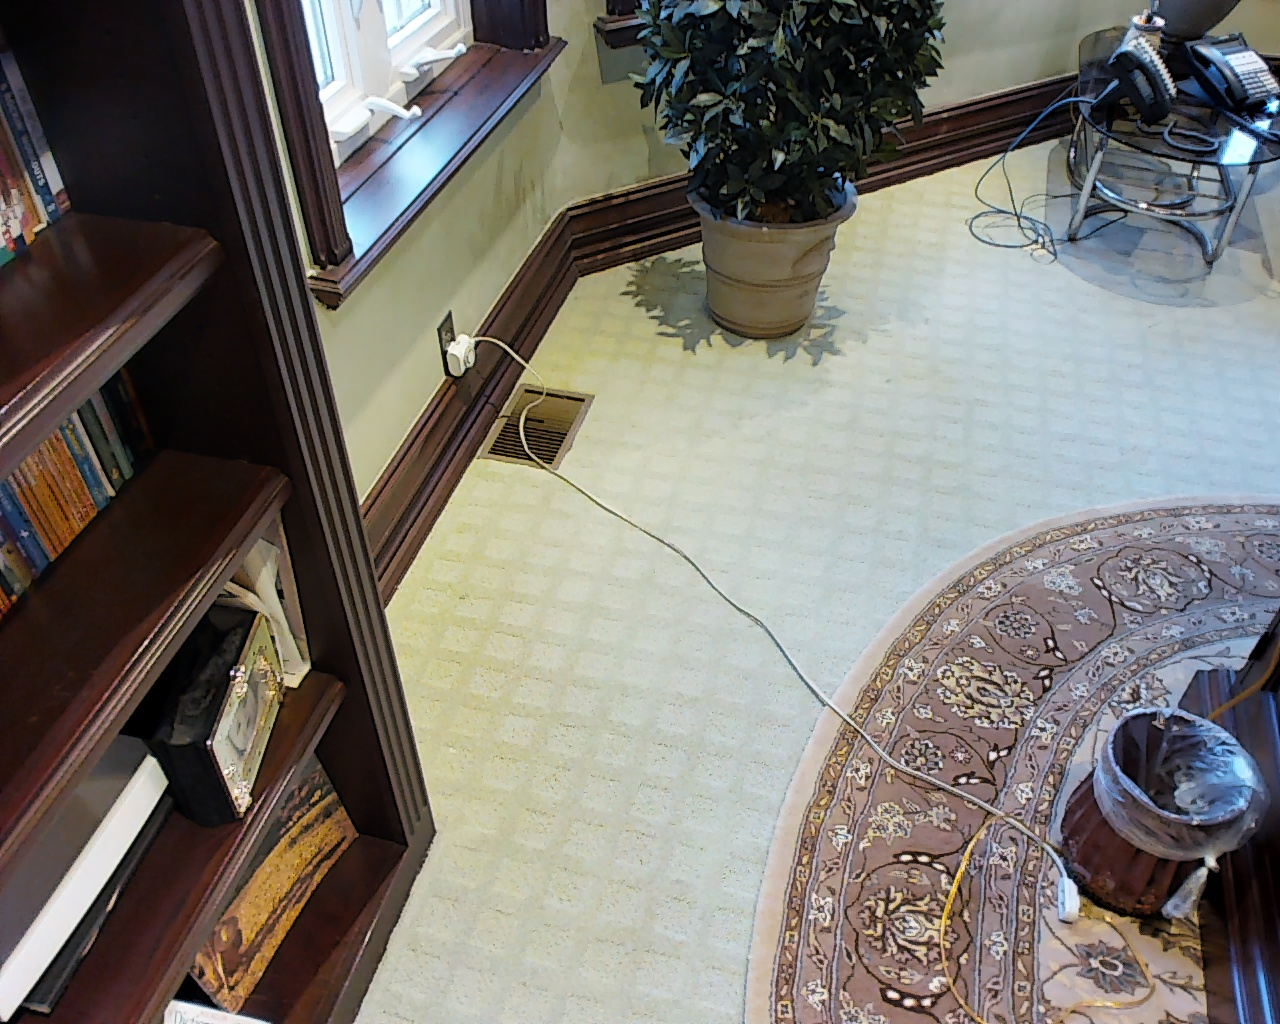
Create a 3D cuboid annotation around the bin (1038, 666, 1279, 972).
[{"bbox_3d":[0.710,0.420,1.470,0.230,0.260,0.270,10,43,9],"label":"bin"}]
